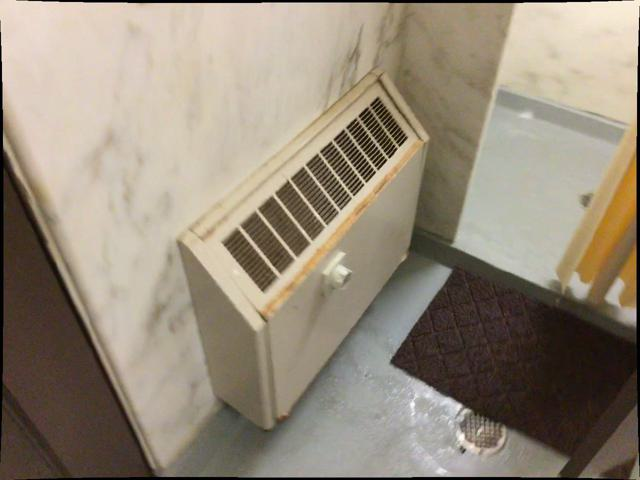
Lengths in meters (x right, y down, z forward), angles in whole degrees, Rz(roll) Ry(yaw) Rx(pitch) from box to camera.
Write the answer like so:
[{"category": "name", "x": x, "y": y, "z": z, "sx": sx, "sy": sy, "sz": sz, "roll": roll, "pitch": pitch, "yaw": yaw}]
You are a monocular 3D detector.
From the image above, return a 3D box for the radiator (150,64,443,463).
[{"category": "radiator", "x": 0.000, "y": 0.030, "z": 1.280, "sx": 0.200, "sy": 0.530, "sz": 0.720, "roll": 23, "pitch": 50, "yaw": 21}]
